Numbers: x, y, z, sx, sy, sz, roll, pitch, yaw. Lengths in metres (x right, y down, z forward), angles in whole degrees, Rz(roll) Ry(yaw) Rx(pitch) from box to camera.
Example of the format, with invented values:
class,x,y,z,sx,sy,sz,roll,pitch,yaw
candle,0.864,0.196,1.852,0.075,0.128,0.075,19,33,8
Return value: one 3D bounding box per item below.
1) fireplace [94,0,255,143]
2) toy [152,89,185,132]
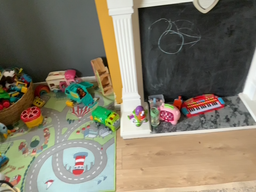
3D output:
class,x,y,z,sx,sy,sz,roll,pitch,yaw
fireplace,0.560,-0.230,1.520,1.350,1.190,0.390,-5,41,4
toy,0.340,0.120,1.860,0.250,0.210,0.310,-2,41,6
